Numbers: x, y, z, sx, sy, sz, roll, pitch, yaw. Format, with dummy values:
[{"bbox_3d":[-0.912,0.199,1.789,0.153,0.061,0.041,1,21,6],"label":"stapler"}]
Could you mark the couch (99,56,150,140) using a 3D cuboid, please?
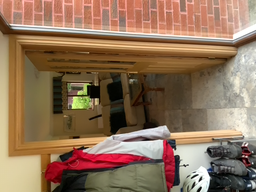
[{"bbox_3d":[-0.140,0.080,4.980,0.900,0.880,1.780,137,131,-69],"label":"couch"}]
